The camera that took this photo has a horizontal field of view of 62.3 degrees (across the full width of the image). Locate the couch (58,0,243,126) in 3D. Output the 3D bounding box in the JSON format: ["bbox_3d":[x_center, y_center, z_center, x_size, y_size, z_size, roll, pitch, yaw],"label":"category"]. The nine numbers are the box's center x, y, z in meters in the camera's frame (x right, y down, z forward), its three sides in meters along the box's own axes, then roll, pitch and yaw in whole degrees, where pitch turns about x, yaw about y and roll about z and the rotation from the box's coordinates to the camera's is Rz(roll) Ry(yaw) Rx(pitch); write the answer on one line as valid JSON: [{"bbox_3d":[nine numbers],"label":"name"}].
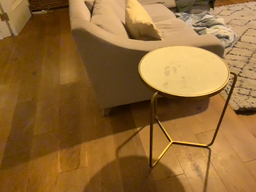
[{"bbox_3d":[-0.060,-0.840,2.200,1.070,0.730,2.140,-10,43,-7],"label":"couch"}]
